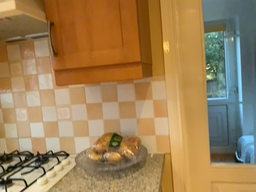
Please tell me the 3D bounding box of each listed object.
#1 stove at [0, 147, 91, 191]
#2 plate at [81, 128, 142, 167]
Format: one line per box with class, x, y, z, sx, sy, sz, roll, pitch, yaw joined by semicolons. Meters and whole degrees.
stove;-0.580;0.360;1.070;0.610;0.020;0.540;-4;6;13
plate;-0.080;0.250;1.070;0.260;0.140;0.140;-3;6;20
